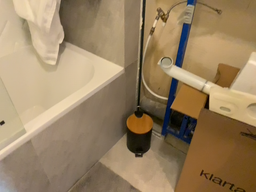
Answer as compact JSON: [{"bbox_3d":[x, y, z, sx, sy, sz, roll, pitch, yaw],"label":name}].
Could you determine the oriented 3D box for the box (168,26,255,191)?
[{"bbox_3d":[0.540,0.200,1.020,0.380,0.850,0.470,29,49,28],"label":"box"}]
